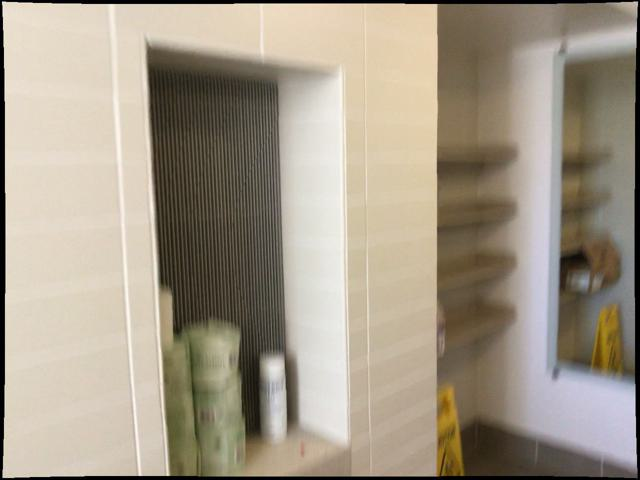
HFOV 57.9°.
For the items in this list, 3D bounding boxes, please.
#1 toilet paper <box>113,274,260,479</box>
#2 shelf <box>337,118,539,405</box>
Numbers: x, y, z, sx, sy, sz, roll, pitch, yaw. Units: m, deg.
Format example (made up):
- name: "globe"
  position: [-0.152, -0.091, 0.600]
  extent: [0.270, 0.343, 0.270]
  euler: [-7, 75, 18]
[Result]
- name: "toilet paper"
  position: [-0.270, 0.300, 1.200]
  extent: [0.230, 0.410, 0.140]
  euler: [-10, 11, -41]
- name: "shelf"
  position: [0.549, 0.020, 2.470]
  extent: [0.999, 1.031, 0.280]
  euler: [-10, 11, -41]
